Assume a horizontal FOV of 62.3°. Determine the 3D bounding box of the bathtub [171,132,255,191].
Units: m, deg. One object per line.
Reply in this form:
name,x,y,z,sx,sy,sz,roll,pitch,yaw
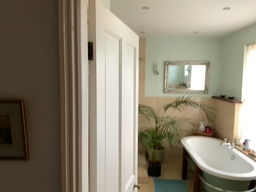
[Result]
bathtub,1.270,1.080,3.290,0.810,0.610,1.710,1,5,-1
